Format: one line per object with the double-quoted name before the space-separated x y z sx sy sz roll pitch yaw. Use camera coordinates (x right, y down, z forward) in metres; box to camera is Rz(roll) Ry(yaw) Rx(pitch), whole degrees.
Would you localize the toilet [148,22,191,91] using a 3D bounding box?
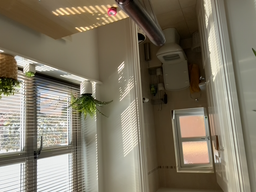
"toilet" 0.650 -0.550 3.220 0.420 0.820 0.670 -7 171 23
